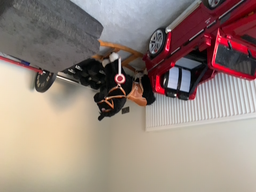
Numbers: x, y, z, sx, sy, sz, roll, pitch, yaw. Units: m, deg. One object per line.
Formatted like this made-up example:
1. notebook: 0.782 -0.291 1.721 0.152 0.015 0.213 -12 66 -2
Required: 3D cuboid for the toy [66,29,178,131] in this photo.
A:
1. toy: -0.020 -0.070 2.290 1.020 0.700 0.590 19 154 -41
